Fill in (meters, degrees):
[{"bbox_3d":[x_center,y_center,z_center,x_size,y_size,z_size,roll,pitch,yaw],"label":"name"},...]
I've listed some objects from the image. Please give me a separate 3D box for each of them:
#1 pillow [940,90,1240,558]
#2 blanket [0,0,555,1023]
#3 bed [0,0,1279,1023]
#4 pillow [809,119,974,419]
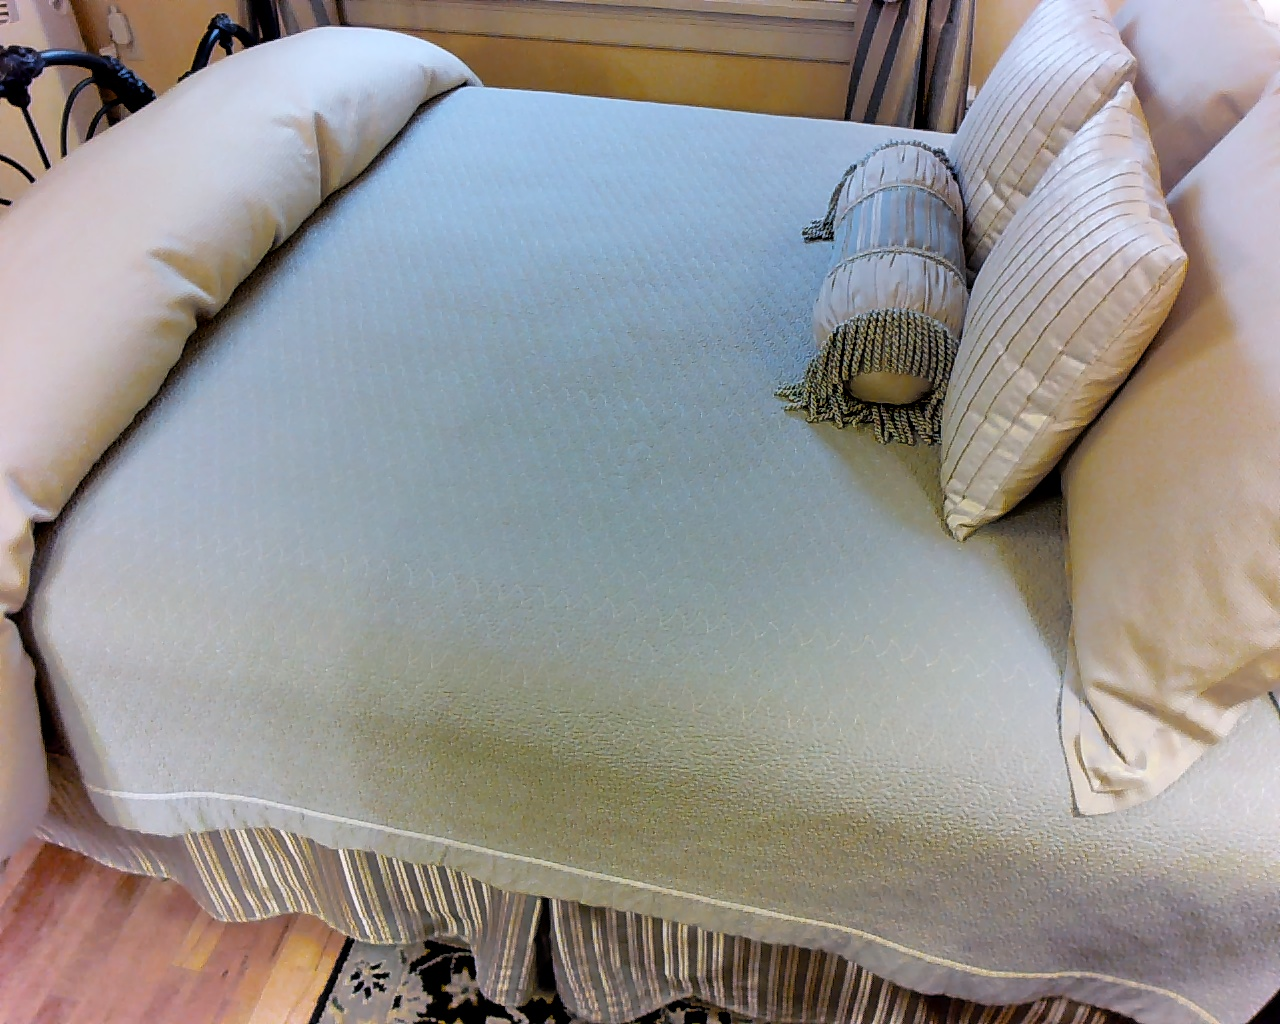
[{"bbox_3d":[0.490,-0.250,1.280,0.180,0.410,0.470,9,28,10],"label":"pillow"},{"bbox_3d":[-0.800,-0.290,2.000,0.600,0.930,2.160,9,43,11],"label":"blanket"},{"bbox_3d":[0.060,-0.320,1.630,2.320,1.430,1.990,9,43,10],"label":"bed"},{"bbox_3d":[0.370,-0.370,1.560,0.180,0.190,0.500,8,43,10],"label":"pillow"}]
